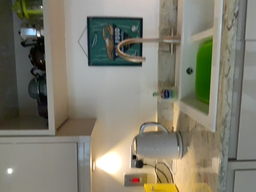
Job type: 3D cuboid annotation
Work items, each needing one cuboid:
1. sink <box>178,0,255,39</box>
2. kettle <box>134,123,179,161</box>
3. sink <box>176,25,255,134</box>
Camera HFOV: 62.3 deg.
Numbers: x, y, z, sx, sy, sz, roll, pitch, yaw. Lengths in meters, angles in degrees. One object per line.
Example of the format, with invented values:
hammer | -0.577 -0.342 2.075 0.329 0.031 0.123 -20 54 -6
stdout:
sink | 0.360 -0.470 0.900 0.430 0.150 0.390 -112 23 -81
kettle | 0.150 0.250 1.190 0.200 0.210 0.150 -114 24 -82
sink | 0.360 -0.080 0.960 0.430 0.150 0.380 -112 23 -81
